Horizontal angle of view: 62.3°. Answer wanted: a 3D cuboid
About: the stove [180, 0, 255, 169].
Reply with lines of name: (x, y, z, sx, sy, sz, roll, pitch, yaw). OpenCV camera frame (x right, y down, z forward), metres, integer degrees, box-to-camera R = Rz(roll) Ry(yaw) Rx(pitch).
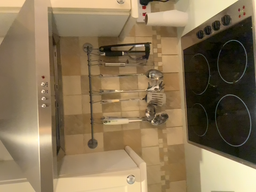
stove: (0.370, -0.040, 0.920, 0.510, 0.030, 0.560, 177, 91, -77)
